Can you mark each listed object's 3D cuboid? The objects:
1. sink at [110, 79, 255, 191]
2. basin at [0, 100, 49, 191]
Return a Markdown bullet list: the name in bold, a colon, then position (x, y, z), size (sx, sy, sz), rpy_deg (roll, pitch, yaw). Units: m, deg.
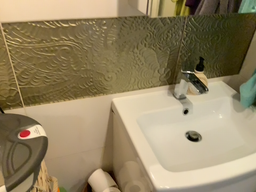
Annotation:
- **sink**: position (0.270, 0.130, 0.800), size (0.570, 0.110, 0.440), rpy_deg (-9, 37, -18)
- **basin**: position (-0.470, 0.200, 0.600), size (0.440, 0.160, 0.330), rpy_deg (-8, 37, -17)
